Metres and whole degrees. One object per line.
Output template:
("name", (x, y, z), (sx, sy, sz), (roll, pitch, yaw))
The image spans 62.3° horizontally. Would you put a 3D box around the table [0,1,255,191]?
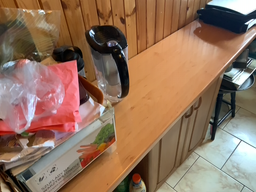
("table", (0.220, 0.120, 1.210), (0.360, 0.770, 1.500), (32, 54, 32))
